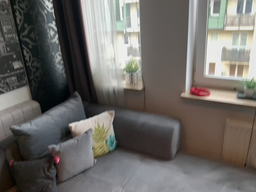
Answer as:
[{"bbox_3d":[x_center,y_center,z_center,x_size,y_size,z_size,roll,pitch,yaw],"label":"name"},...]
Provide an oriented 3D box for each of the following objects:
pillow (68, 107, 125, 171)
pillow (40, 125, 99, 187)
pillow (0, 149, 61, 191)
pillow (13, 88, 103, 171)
[{"bbox_3d":[-0.260,0.360,1.870,0.440,0.380,0.170,-22,28,-39],"label":"pillow"},{"bbox_3d":[-0.440,0.450,1.670,0.260,0.290,0.330,6,23,22],"label":"pillow"},{"bbox_3d":[-0.710,0.550,1.480,0.380,0.200,0.210,5,23,21],"label":"pillow"},{"bbox_3d":[-0.540,0.230,1.890,0.190,0.330,0.870,9,25,24],"label":"pillow"}]
